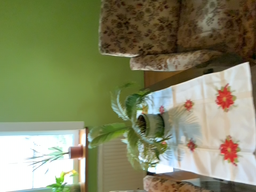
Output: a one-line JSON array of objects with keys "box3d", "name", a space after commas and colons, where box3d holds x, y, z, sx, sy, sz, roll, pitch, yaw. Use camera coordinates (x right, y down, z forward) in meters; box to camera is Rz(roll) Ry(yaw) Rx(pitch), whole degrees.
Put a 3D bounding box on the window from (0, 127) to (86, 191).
[{"box3d": [-1.280, 1.140, 2.360, 0.170, 1.560, 1.530, 170, 101, -65], "name": "window"}]
